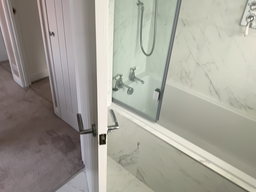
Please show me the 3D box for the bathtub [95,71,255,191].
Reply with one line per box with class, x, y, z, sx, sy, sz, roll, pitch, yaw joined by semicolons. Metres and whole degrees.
bathtub;0.540;0.430;1.740;1.580;0.570;0.720;28;40;31
